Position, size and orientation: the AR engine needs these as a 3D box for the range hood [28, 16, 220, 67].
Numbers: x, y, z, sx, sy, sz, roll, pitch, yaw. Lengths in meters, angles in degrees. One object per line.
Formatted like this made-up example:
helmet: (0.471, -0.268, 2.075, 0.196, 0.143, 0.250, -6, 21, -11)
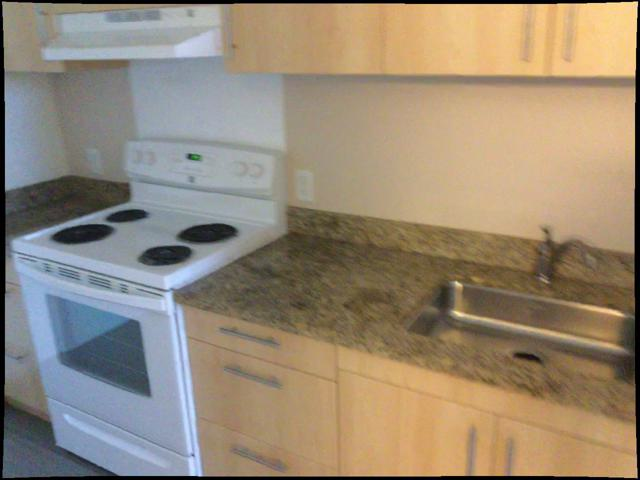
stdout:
range hood: (-0.659, -0.661, 1.910, 0.690, 0.140, 0.170, 12, 22, 28)
